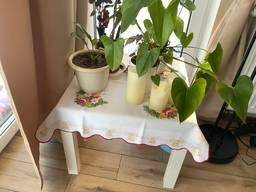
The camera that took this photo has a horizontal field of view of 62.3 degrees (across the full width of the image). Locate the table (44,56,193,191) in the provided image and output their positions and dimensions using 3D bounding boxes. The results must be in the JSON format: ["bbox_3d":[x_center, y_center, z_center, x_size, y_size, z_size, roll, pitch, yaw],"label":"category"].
[{"bbox_3d":[-0.030,0.130,1.130,0.580,0.450,0.460,8,37,3],"label":"table"}]
